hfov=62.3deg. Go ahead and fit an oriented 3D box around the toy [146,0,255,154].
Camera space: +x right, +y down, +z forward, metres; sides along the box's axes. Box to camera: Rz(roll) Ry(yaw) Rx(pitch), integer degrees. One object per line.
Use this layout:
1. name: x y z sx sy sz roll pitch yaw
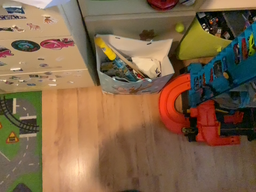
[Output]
1. toy: 0.550 -0.060 0.830 0.820 0.750 0.400 -7 79 -4
